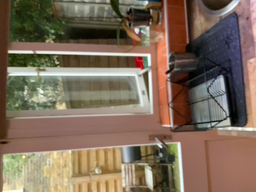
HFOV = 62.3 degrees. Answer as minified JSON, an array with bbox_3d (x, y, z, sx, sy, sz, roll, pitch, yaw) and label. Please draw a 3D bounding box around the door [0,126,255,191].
[{"bbox_3d":[0.240,0.550,1.300,0.030,2.020,0.670,154,115,-75],"label":"door"}]
